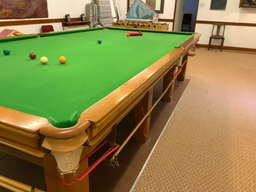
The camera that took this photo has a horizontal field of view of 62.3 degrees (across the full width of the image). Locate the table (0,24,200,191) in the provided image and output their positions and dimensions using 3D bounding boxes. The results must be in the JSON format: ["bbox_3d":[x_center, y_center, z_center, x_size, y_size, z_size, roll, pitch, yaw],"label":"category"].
[{"bbox_3d":[-0.410,-0.270,2.600,1.990,0.870,3.790,11,24,20],"label":"table"}]
